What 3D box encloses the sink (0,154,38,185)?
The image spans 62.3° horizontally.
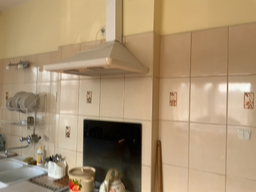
[{"bbox_3d":[-1.380,0.810,2.340,0.420,0.160,0.570,1,-1,34],"label":"sink"}]

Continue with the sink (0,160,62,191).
[{"bbox_3d":[-1.030,0.820,2.100,0.440,0.160,0.570,1,-1,34],"label":"sink"}]

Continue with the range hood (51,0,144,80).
[{"bbox_3d":[-0.230,-0.480,1.640,0.570,0.670,0.390,1,-1,31],"label":"range hood"}]

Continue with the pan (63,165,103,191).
[{"bbox_3d":[-0.350,0.680,1.650,0.210,0.190,0.210,1,-1,35],"label":"pan"}]
